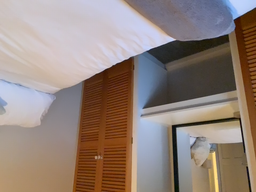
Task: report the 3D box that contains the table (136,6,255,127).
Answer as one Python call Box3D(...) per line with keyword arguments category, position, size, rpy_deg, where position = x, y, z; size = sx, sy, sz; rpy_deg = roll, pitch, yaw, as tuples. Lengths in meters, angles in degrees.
Box3D(category="table", position=(0.570, -0.180, 1.950), size=(0.860, 0.770, 0.510), rpy_deg=(-14, 156, 38))
